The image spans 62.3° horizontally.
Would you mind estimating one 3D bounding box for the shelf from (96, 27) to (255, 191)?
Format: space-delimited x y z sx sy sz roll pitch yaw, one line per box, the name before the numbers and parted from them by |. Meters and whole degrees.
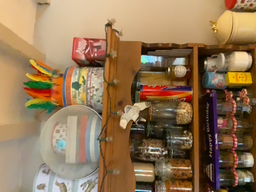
shelf | 0.400 0.510 1.050 0.260 1.080 1.620 82 -169 -84
